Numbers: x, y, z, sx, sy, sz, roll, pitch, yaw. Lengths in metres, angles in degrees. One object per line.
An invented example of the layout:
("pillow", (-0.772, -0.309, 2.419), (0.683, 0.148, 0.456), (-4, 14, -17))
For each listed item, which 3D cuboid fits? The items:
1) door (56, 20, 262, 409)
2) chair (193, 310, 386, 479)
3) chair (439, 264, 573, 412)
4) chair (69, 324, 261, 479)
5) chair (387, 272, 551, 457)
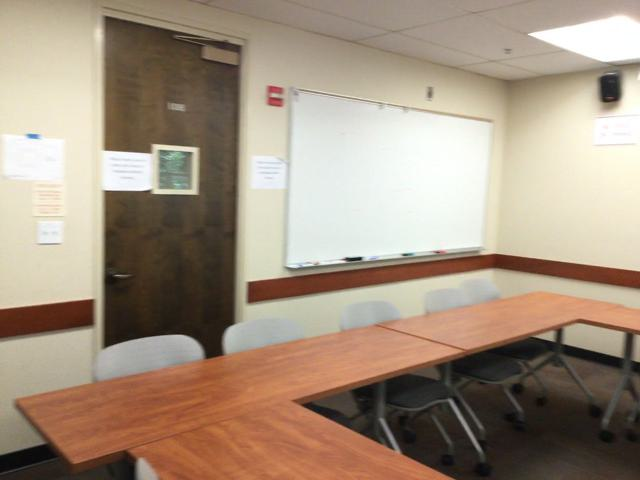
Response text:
("door", (-0.850, -0.160, 3.300), (0.890, 2.010, 0.160), (-14, 12, -40))
("chair", (-0.140, 0.820, 2.570), (0.510, 0.840, 0.690), (-8, 9, -41))
("chair", (1.200, 0.590, 3.750), (0.560, 0.740, 0.620), (-8, 9, -41))
("chair", (-0.600, 0.640, 2.230), (0.500, 0.450, 0.540), (-8, 9, -41))
("chair", (0.880, 0.670, 3.430), (0.660, 0.810, 0.680), (-8, 9, -41))
